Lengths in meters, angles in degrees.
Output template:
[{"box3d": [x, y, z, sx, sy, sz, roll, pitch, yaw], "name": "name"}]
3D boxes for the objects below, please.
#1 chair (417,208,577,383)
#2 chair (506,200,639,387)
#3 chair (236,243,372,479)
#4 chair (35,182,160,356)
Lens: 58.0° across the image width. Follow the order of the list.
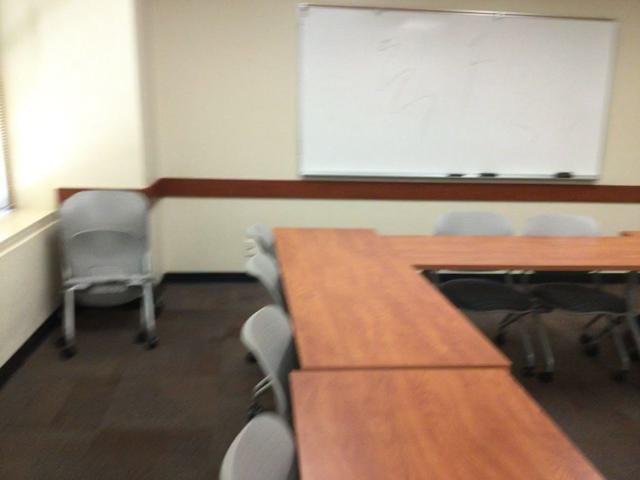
[{"box3d": [0.920, 0.270, 3.150, 0.590, 0.800, 0.550, 0, 14, -8], "name": "chair"}, {"box3d": [1.390, 0.260, 3.130, 0.460, 0.870, 0.550, 0, 14, -7], "name": "chair"}, {"box3d": [-0.100, 0.480, 2.270, 0.450, 0.810, 0.590, 0, 14, -8], "name": "chair"}, {"box3d": [-1.230, 0.120, 3.310, 0.560, 0.810, 0.670, -3, 14, -16], "name": "chair"}]
